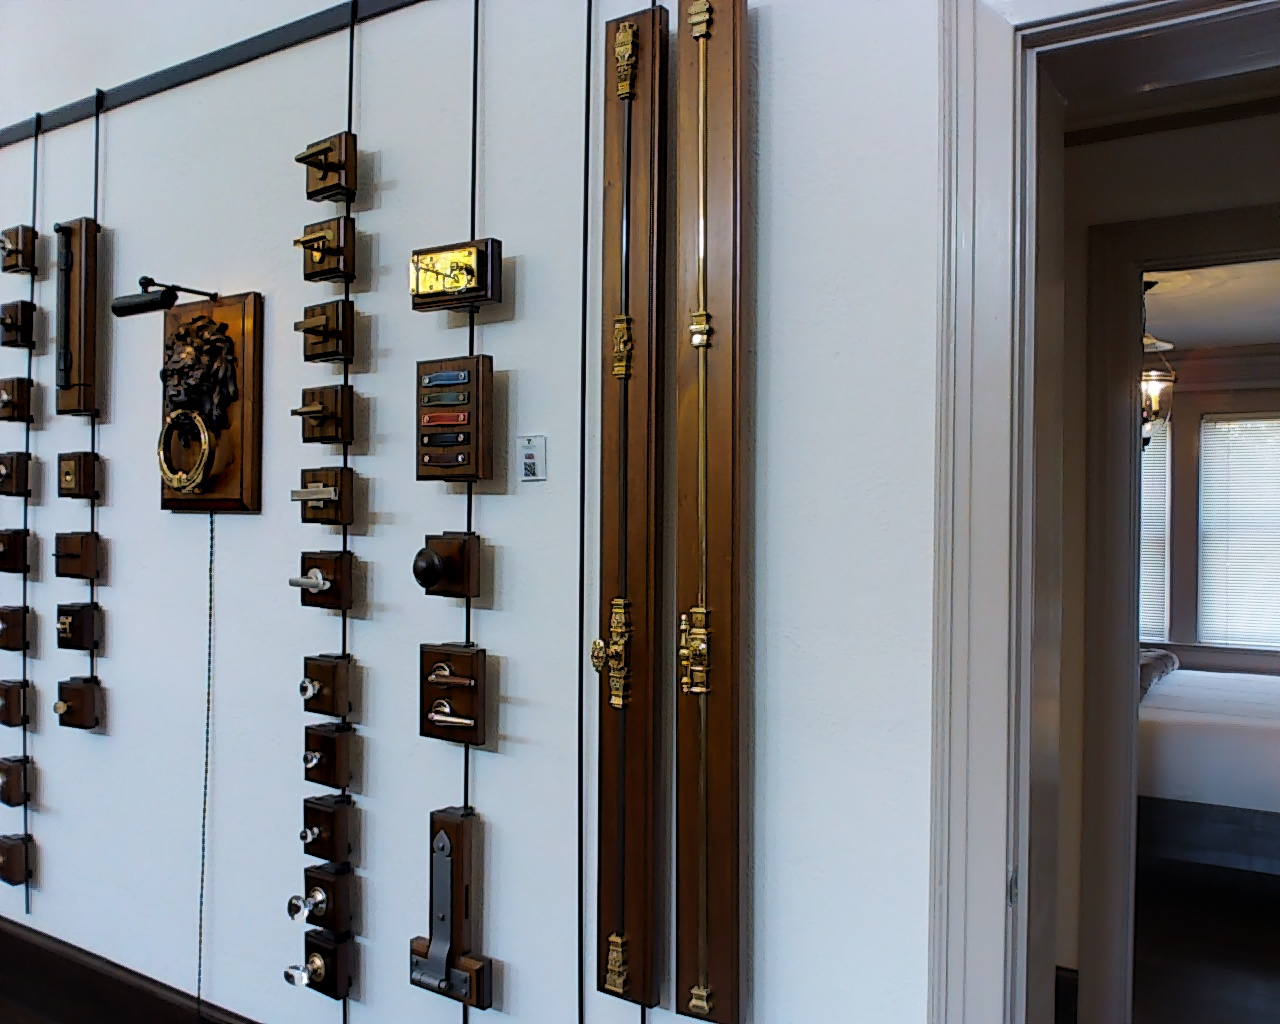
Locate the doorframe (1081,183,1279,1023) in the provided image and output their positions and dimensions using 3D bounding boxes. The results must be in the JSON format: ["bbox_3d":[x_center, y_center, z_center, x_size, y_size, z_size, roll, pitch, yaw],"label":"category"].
[{"bbox_3d":[1.880,0.300,2.950,1.200,2.400,0.180,0,0,33],"label":"doorframe"}]
